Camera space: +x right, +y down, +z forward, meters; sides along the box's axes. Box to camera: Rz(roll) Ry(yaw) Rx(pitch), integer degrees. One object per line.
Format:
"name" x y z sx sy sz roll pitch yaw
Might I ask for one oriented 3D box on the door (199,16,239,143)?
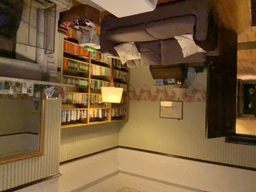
"door" 1.780 -0.280 4.060 1.130 2.230 0.070 2 179 -35

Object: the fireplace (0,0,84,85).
"fireplace" -1.580 -0.840 2.700 0.880 1.260 1.870 1 179 34

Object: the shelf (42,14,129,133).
"shelf" -0.770 -0.370 4.820 0.330 2.090 2.380 1 179 32
